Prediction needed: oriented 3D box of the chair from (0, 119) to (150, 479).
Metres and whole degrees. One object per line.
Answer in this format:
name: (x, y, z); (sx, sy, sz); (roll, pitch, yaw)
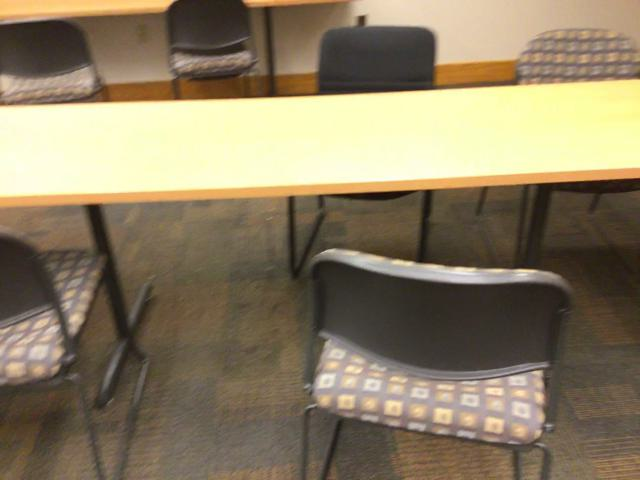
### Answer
chair: (-0.790, 0.130, 1.430); (0.520, 0.680, 0.660); (0, 29, -3)

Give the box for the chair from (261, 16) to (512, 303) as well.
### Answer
chair: (0.160, -0.320, 2.060); (0.570, 0.790, 0.650); (-6, 30, -19)

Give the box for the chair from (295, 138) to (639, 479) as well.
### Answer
chair: (0.250, 0.200, 1.260); (0.520, 0.650, 0.590); (5, 29, 6)
